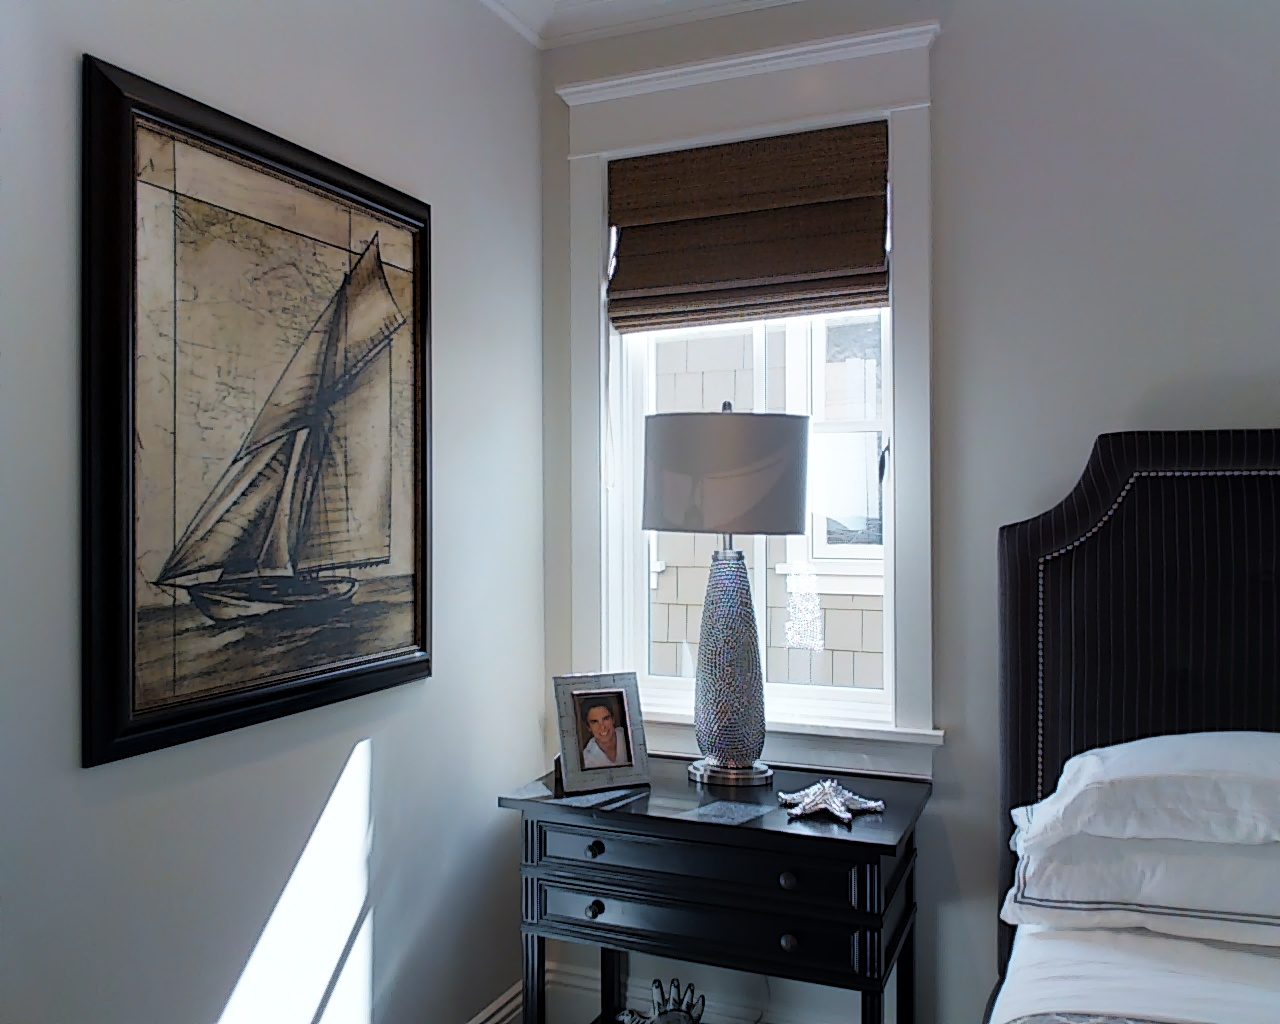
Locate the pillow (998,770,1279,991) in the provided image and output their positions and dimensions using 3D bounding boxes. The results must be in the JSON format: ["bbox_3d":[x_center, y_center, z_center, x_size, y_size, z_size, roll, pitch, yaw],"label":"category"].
[{"bbox_3d":[1.150,0.670,1.950,0.900,0.200,0.510,0,0,24],"label":"pillow"}]

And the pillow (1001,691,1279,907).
[{"bbox_3d":[1.150,0.520,1.960,0.880,0.250,0.470,0,0,25],"label":"pillow"}]
